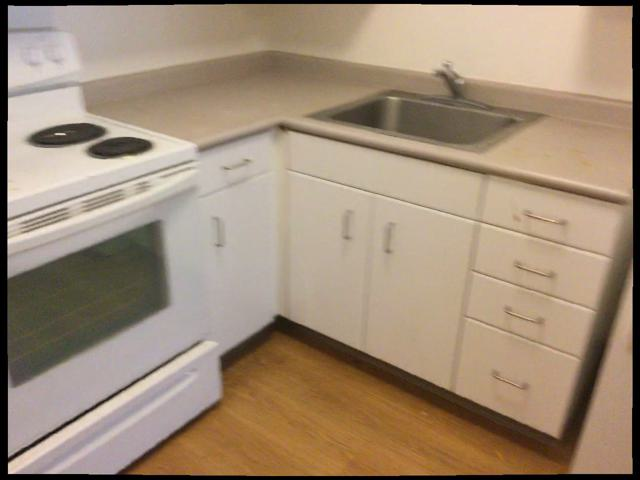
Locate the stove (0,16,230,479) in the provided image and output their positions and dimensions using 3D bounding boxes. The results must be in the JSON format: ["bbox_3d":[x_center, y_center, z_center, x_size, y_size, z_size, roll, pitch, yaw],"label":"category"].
[{"bbox_3d":[-0.858,0.070,1.680,0.799,1.192,0.740,21,36,31],"label":"stove"}]
